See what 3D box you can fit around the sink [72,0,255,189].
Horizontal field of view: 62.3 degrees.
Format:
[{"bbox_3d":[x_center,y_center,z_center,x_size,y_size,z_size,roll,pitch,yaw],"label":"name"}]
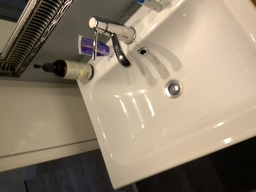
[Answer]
[{"bbox_3d":[0.110,-0.050,0.680,0.630,0.120,0.490,-36,68,33],"label":"sink"}]
